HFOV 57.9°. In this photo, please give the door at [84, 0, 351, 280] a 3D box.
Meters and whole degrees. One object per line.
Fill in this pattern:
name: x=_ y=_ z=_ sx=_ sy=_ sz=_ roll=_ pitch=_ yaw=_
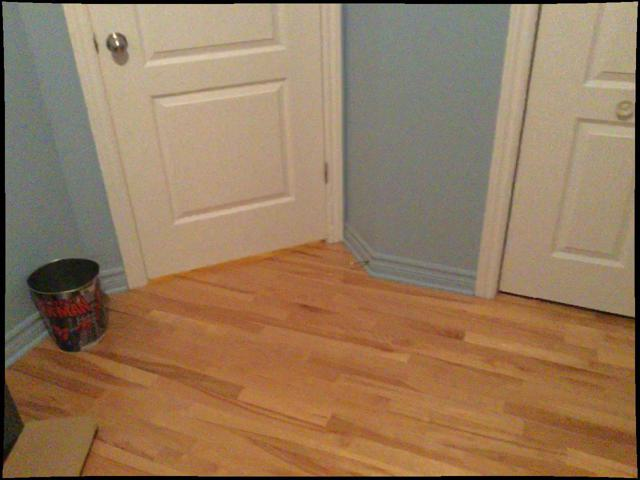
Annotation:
door: x=-0.320 y=-0.831 z=1.890 sx=0.859 sy=2.062 sz=0.110 roll=-12 pitch=33 yaw=-16
